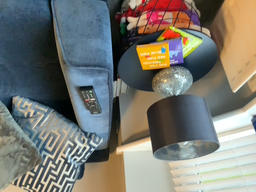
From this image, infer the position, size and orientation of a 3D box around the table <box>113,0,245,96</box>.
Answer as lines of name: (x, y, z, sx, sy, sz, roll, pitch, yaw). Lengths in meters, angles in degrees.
table: (0.170, -0.290, 1.050, 0.450, 0.400, 0.450, -1, 151, -8)
